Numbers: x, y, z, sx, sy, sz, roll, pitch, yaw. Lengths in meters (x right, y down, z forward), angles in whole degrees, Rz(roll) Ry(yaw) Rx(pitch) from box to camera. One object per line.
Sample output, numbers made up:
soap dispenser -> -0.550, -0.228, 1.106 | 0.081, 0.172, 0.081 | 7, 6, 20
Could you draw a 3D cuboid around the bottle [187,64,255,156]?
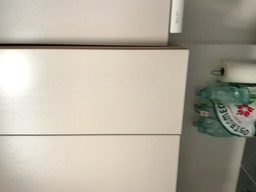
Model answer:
bottle -> 0.520, 0.070, 1.090 | 0.170, 0.350, 0.440 | -93, 4, -73
